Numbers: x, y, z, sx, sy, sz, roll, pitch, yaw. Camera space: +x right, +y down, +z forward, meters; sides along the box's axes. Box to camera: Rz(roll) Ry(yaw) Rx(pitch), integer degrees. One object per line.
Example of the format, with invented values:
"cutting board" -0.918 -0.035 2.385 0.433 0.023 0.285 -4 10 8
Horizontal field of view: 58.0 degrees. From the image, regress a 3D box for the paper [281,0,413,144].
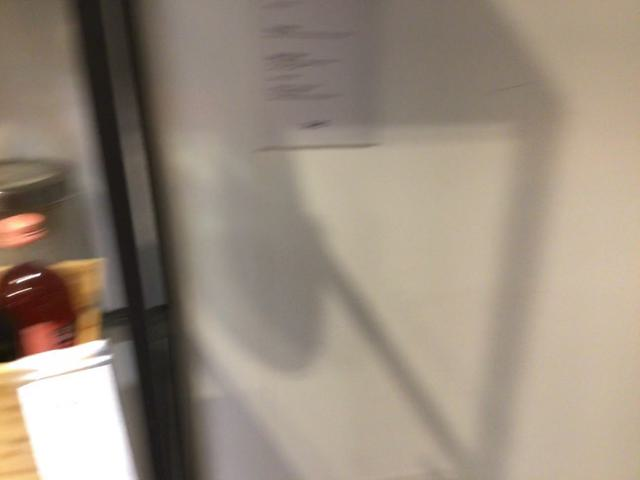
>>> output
"paper" 0.030 -0.200 0.680 0.150 0.170 0.010 -4 25 -14
